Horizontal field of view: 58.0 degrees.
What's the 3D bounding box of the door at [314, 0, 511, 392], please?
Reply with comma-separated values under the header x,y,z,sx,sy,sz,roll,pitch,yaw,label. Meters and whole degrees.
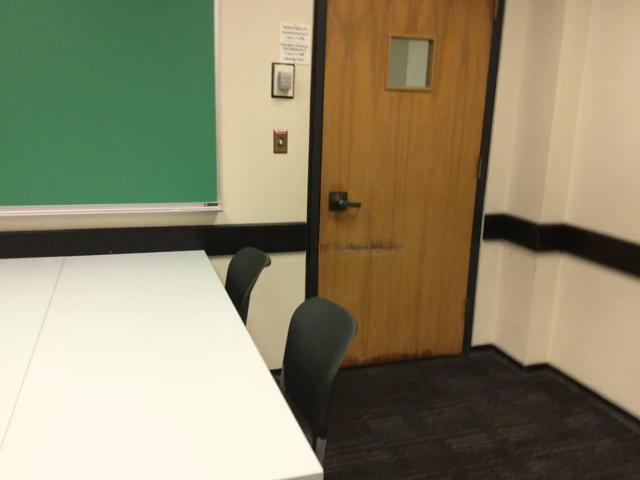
x,y,z,sx,sy,sz,roll,pitch,yaw,label
0.450,-0.370,2.950,0.900,2.180,0.290,-4,12,-21,door
